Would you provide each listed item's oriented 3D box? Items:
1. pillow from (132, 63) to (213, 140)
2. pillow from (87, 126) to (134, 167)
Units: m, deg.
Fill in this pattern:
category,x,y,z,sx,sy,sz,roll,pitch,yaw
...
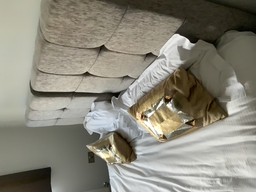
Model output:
category,x,y,z,sx,sy,sz,roll,pitch,yaw
pillow,0.200,0.060,1.100,0.080,0.300,0.490,38,159,0
pillow,-0.160,0.410,1.740,0.130,0.270,0.470,44,157,-5
